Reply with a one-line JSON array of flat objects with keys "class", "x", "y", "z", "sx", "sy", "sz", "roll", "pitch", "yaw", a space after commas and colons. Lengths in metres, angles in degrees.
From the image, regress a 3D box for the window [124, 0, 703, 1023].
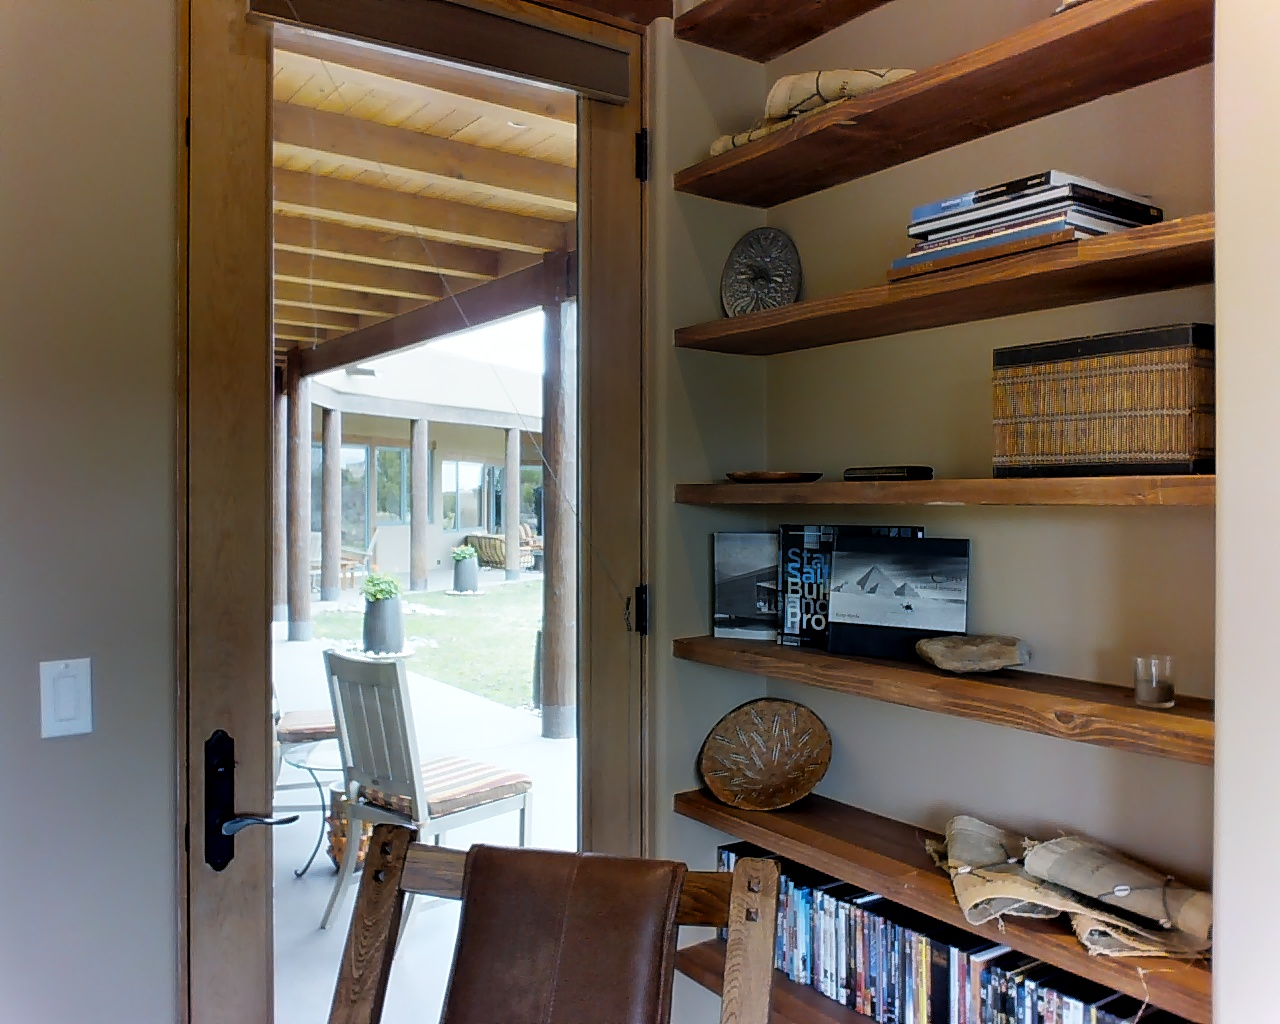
[{"class": "window", "x": -0.350, "y": 0.130, "z": 1.930, "sx": 1.030, "sy": 2.561, "sz": 0.170, "roll": 0, "pitch": 1, "yaw": -35}]
